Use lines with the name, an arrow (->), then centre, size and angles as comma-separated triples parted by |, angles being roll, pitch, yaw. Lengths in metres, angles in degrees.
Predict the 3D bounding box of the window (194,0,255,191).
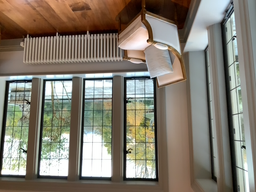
window -> 0.930, 0.030, 1.960 | 0.080, 1.760, 2.540 | -1, 171, 7

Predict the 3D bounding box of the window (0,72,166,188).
window -> -0.870, 0.510, 3.460 | 2.900, 1.810, 0.100 | 0, 171, 3

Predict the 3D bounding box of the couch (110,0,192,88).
couch -> 0.260, -0.660, 2.730 | 0.720, 0.930, 0.770 | 5, 170, -28
